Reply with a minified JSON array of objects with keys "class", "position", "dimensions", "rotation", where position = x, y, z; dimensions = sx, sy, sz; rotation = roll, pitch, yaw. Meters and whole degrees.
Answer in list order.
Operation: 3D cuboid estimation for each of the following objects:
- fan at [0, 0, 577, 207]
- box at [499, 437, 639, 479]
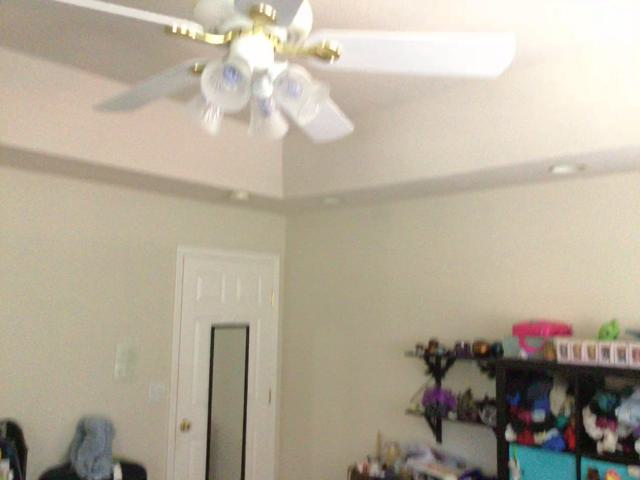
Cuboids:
[{"class":"fan","position":[-0.200,-0.440,1.590],"dimensions":[1.310,0.320,1.210],"rotation":[-6,-13,45]},{"class":"box","position":[1.220,1.110,2.600],"dimensions":[0.690,0.320,0.360],"rotation":[-10,-16,44]}]
